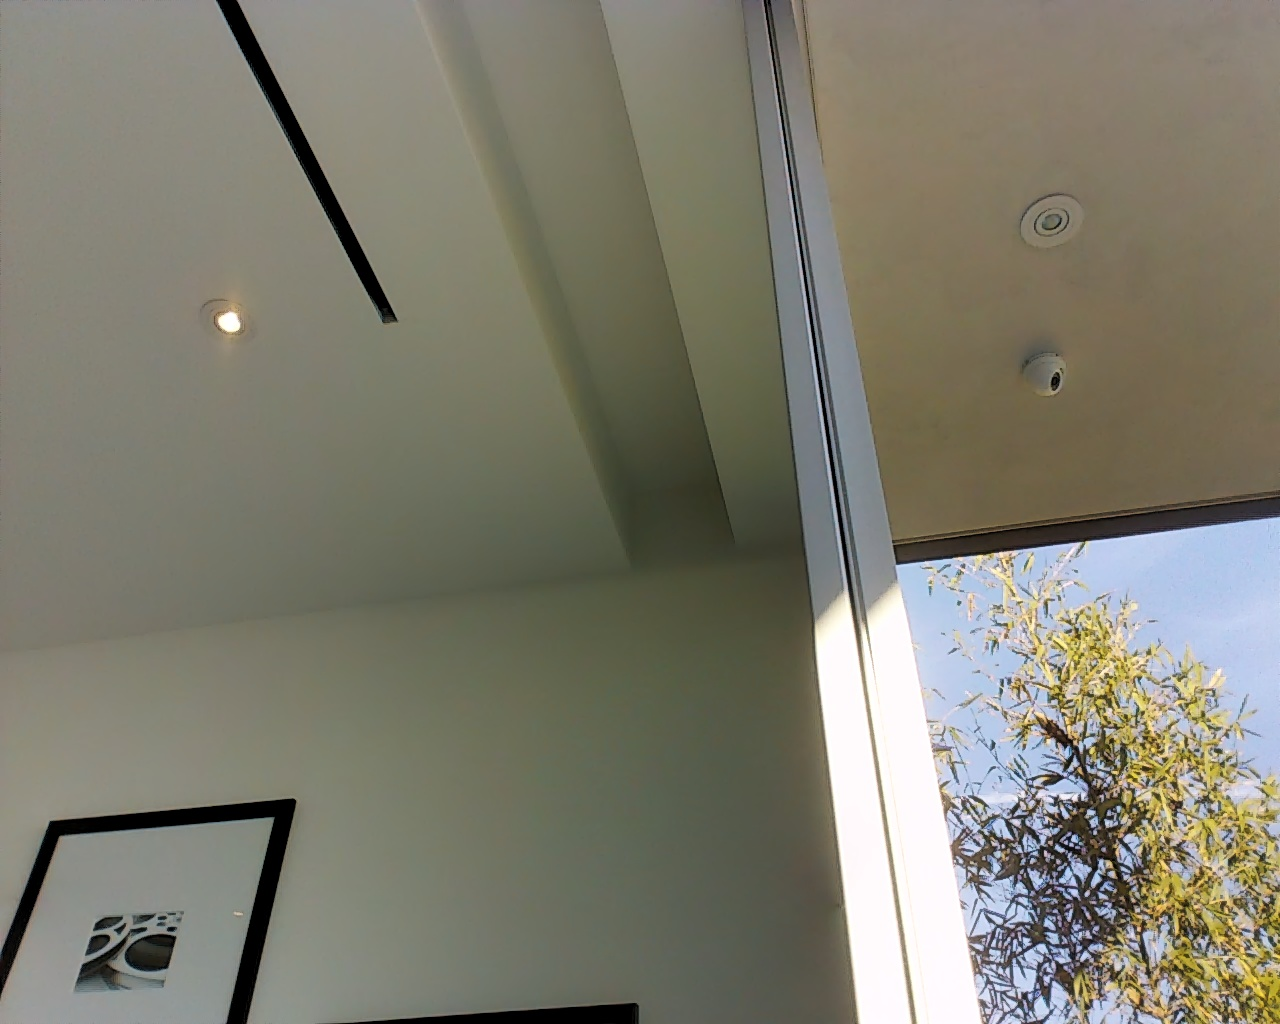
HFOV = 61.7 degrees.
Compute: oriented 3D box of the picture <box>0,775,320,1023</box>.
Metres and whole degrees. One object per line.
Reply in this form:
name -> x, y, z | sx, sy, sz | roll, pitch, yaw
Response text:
picture -> -1.280, 1.100, 2.700 | 0.810, 0.840, 0.060 | -8, -42, 10
